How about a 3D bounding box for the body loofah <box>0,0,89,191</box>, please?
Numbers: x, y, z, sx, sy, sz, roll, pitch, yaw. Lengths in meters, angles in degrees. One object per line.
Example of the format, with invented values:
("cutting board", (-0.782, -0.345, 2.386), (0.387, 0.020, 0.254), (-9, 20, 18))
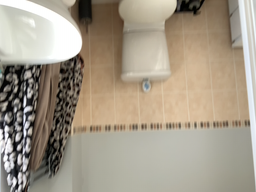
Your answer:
("body loofah", (-0.440, 0.040, 1.280), (0.250, 1.000, 0.610), (-2, 174, 3))
